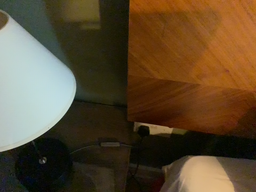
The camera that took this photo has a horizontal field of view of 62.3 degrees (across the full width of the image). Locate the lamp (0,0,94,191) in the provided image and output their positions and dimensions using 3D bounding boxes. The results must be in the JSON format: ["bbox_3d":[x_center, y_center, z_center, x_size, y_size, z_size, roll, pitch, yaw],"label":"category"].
[{"bbox_3d":[-0.270,0.070,0.440,0.320,0.460,0.220,8,48,3],"label":"lamp"}]
